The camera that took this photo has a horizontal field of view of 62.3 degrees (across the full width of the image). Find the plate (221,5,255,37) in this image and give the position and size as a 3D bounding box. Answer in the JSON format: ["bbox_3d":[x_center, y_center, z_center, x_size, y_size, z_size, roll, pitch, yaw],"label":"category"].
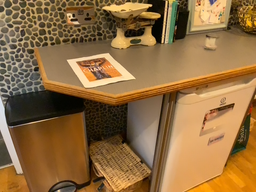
[{"bbox_3d":[0.900,-0.540,1.500,0.300,0.130,0.290,-12,36,-21],"label":"plate"}]
